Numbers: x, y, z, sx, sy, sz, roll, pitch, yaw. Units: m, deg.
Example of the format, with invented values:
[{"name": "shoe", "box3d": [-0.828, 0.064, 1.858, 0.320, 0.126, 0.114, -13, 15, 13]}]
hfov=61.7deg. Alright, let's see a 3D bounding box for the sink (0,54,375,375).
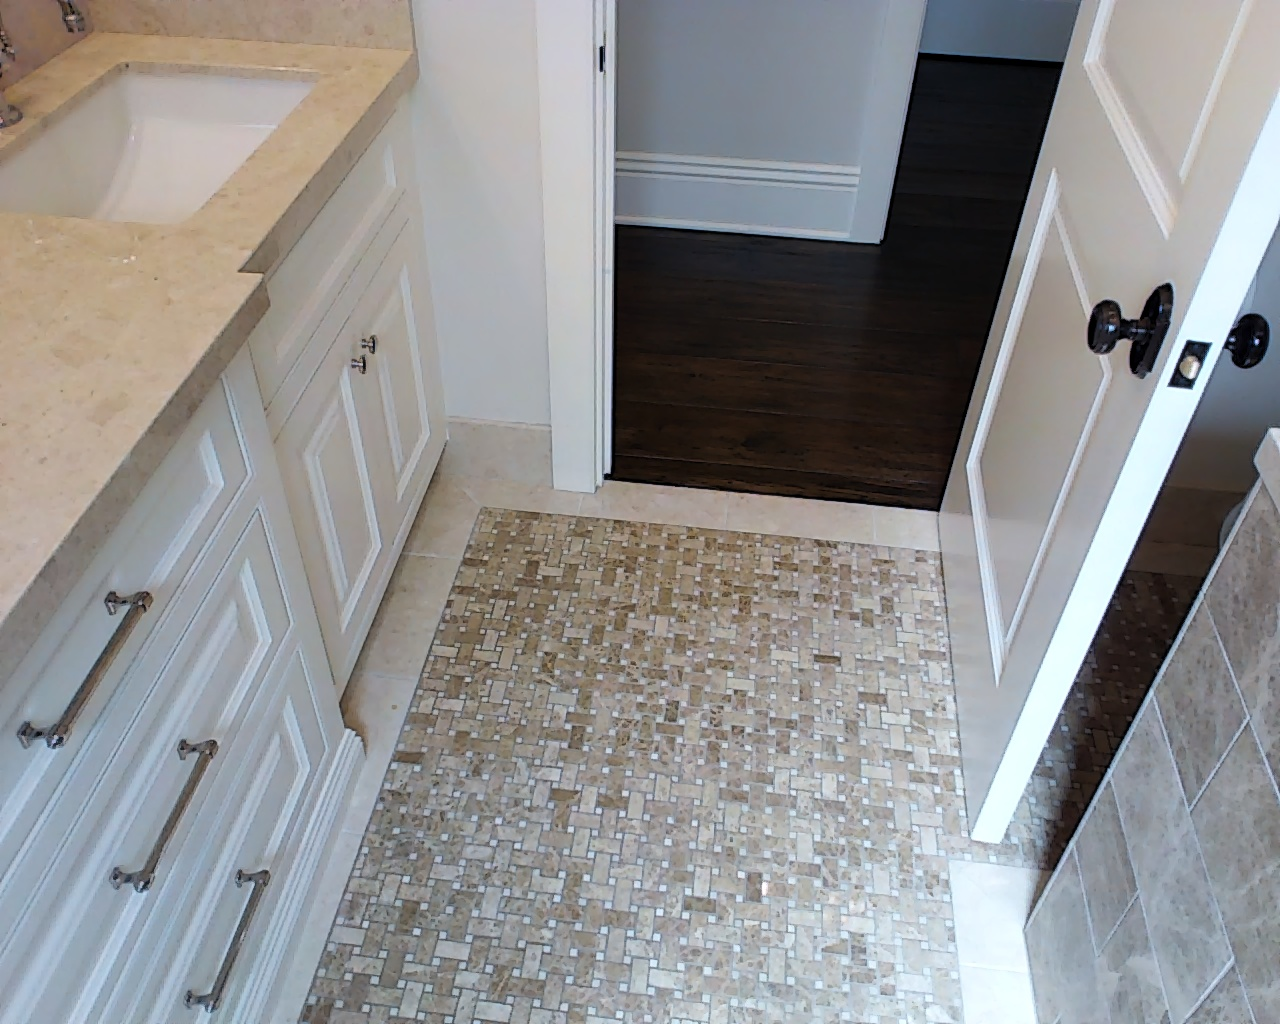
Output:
[{"name": "sink", "box3d": [-0.660, -0.450, 1.540, 0.370, 0.210, 0.540, 5, 41, 5]}]
